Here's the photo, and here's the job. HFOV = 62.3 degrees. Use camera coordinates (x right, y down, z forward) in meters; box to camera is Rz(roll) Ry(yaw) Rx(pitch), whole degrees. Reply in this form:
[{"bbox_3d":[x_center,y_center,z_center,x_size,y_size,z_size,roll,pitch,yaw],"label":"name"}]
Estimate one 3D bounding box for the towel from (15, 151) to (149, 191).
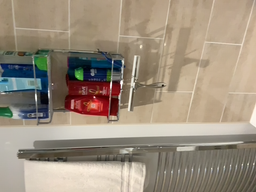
[{"bbox_3d":[-0.210,0.480,1.050,0.080,0.580,0.400,-119,32,-65],"label":"towel"}]
